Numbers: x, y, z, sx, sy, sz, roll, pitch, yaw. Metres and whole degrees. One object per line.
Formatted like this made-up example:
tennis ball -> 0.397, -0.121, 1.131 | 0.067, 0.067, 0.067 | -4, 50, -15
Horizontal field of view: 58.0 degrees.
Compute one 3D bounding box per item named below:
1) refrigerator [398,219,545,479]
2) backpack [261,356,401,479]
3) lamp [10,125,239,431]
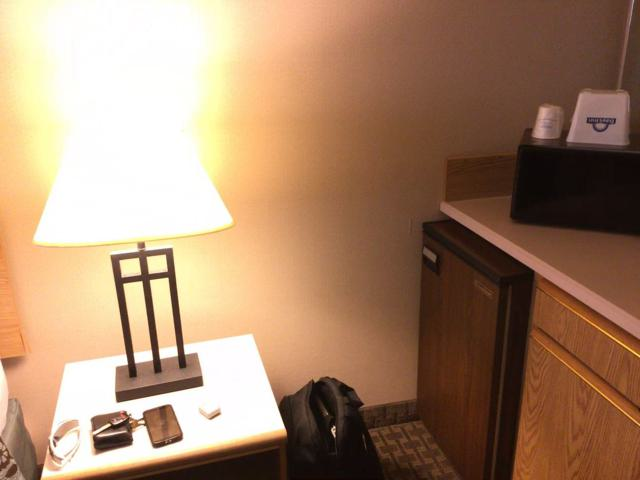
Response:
refrigerator -> 0.450, 0.390, 1.880 | 0.140, 0.810, 0.490 | -2, 19, -16
backpack -> 0.010, 0.660, 1.740 | 0.310, 0.480, 0.340 | -2, 19, -16
lamp -> -0.450, 0.080, 1.440 | 0.460, 0.690, 0.240 | -2, 19, -16
